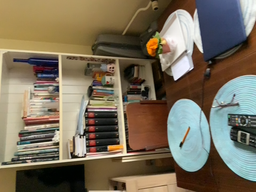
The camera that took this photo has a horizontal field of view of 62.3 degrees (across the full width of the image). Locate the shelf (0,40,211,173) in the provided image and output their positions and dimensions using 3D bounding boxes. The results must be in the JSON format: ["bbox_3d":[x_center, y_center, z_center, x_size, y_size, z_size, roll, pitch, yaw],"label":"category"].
[{"bbox_3d":[-0.340,0.100,1.910,0.400,2.160,0.960,142,126,-65],"label":"shelf"}]

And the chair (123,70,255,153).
[{"bbox_3d":[0.470,0.150,1.590,0.580,0.850,0.450,140,128,-64],"label":"chair"}]

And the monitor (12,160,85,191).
[{"bbox_3d":[-0.610,1.020,1.650,0.030,0.550,0.950,143,125,-65],"label":"monitor"}]
